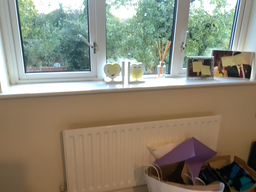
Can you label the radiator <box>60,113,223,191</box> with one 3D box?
[{"bbox_3d":[0.120,0.410,1.510,1.110,0.500,0.110,-3,20,-14],"label":"radiator"}]
